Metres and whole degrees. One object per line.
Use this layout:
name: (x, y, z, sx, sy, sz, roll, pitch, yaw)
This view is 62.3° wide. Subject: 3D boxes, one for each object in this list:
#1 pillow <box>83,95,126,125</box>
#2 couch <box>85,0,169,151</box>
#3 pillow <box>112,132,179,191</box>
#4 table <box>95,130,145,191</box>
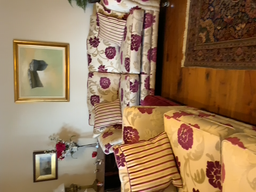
pillow: (-0.330, 0.180, 2.990, 0.390, 0.450, 0.170, 50, 125, 32)
couch: (-0.110, -0.390, 3.100, 1.070, 0.890, 1.990, -157, 68, -70)
pillow: (0.140, 0.490, 1.580, 0.110, 0.420, 0.360, -42, 65, 37)
table: (-0.160, 1.150, 3.590, 0.510, 0.720, 0.980, -157, 68, -70)
